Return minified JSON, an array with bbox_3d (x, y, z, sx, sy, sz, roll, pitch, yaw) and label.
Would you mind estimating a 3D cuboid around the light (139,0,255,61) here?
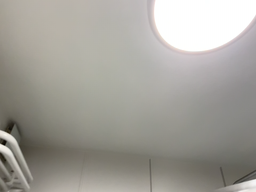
[{"bbox_3d":[0.190,-0.250,0.550,0.310,0.310,0.070,-7,-130,-5],"label":"light"}]
